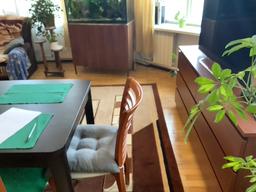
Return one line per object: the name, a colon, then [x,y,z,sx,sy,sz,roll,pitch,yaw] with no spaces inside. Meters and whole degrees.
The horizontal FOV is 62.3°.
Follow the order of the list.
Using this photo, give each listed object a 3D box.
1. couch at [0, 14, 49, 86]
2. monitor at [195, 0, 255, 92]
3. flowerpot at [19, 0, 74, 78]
couch: [-2.300,-0.830,3.660,1.340,0.970,1.000,0,28,2]
monitor: [0.750,-0.510,1.690,0.050,0.560,1.010,-2,28,-1]
flowerpot: [-1.350,-1.070,3.670,0.460,1.380,0.630,0,28,3]
